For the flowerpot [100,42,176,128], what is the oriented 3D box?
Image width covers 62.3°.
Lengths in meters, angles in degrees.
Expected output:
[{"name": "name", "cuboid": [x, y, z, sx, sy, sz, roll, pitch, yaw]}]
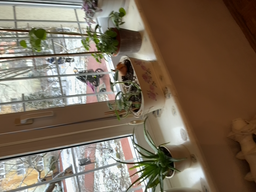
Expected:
[{"name": "flowerpot", "cuboid": [0.030, -0.060, 0.980, 0.170, 0.210, 0.340, -54, 48, 55]}]

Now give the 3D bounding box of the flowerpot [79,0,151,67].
[{"name": "flowerpot", "cuboid": [-0.080, -0.320, 1.070, 0.220, 0.250, 0.250, -56, 46, 54]}]
